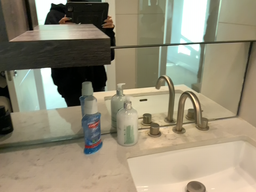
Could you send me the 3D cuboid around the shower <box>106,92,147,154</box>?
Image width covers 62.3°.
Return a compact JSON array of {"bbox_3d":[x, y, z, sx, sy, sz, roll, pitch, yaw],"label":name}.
[{"bbox_3d":[-0.010,0.090,0.770,0.110,0.150,0.170,-5,23,-11],"label":"shower"}]
